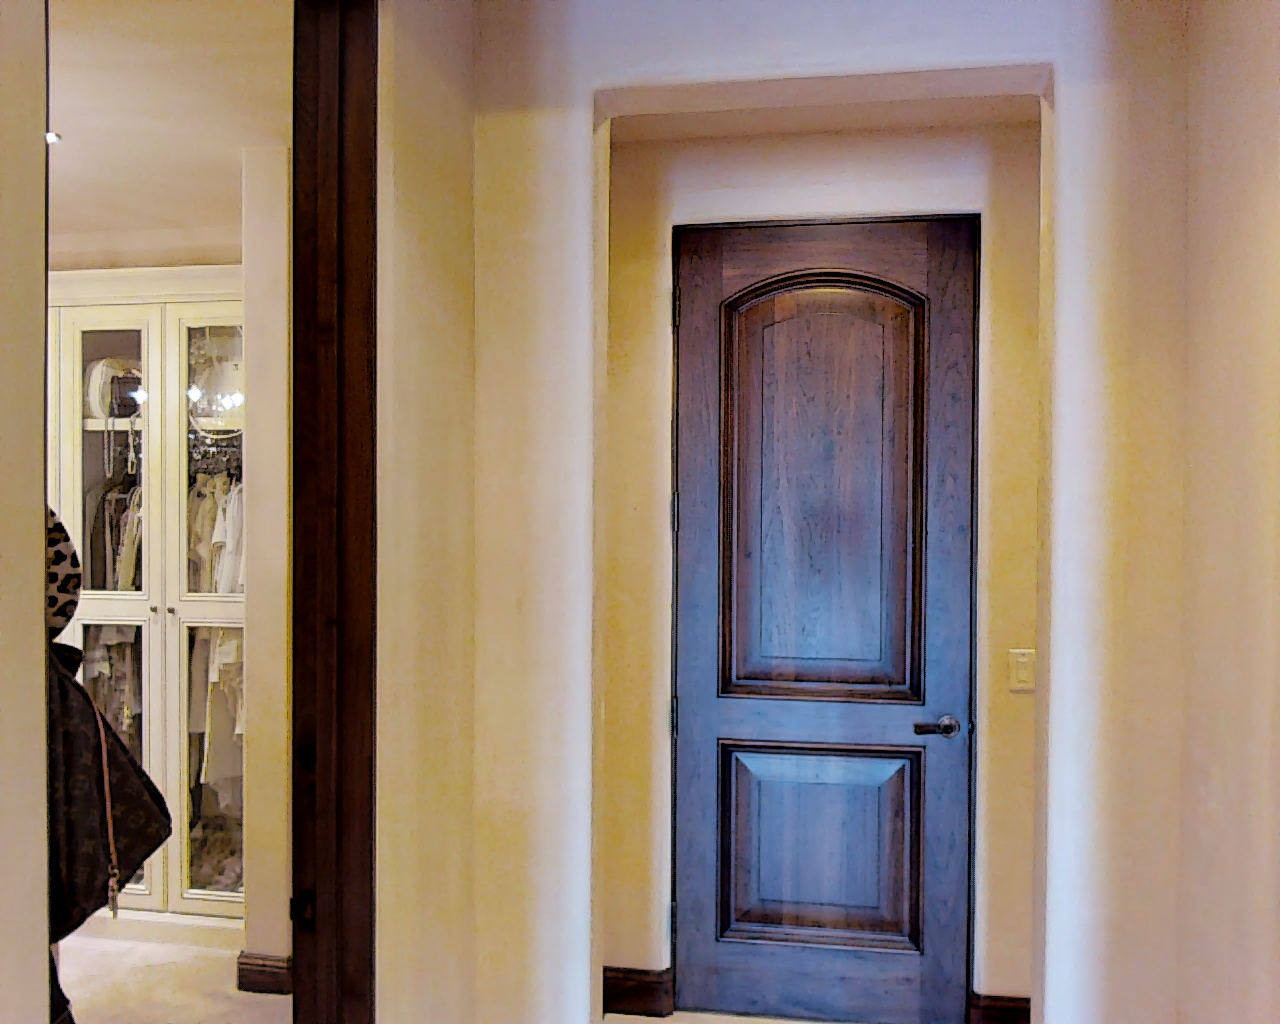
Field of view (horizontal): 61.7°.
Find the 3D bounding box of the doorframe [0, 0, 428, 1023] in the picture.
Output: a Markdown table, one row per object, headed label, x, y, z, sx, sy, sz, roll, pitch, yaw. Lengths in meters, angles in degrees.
| label | x | y | z | sx | sy | sz | roll | pitch | yaw |
| --- | --- | --- | --- | --- | --- | --- | --- | --- | --- |
| doorframe | -0.520 | 0.360 | 1.380 | 0.180 | 2.430 | 0.830 | 0 | 1 | 11 |
